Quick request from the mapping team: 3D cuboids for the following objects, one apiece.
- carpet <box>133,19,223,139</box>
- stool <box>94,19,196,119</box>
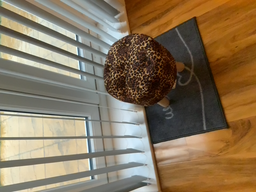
[{"bbox_3d":[0.240,-0.080,1.160,0.390,0.050,0.560,-18,72,33],"label":"carpet"},{"bbox_3d":[0.090,-0.090,1.030,0.290,0.370,0.320,-20,71,32],"label":"stool"}]
